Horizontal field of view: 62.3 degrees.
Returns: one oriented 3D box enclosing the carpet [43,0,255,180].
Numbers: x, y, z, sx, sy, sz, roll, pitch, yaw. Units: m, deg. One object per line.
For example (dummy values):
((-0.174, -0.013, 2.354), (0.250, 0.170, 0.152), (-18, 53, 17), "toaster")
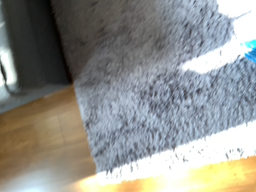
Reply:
((0.410, -0.390, 1.020), (1.770, 0.050, 1.290), (-17, 84, 18), "carpet")
